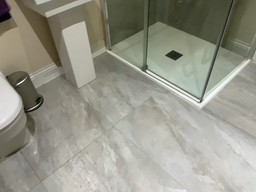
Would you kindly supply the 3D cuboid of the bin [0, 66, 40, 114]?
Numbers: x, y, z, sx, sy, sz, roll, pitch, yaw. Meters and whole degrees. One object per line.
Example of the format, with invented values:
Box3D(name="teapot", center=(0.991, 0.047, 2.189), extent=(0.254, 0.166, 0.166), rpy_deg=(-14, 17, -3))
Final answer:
Box3D(name="bin", center=(-0.870, -0.050, 1.680), extent=(0.210, 0.260, 0.180), rpy_deg=(35, 56, 30))
